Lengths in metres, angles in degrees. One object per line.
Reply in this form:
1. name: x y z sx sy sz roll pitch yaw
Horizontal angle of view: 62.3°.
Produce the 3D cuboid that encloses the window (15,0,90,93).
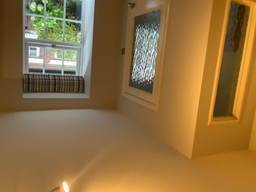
1. window: -1.040 -0.810 2.960 0.940 1.550 0.100 0 -168 -30
